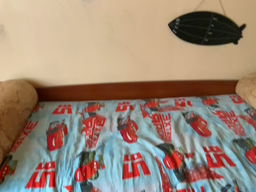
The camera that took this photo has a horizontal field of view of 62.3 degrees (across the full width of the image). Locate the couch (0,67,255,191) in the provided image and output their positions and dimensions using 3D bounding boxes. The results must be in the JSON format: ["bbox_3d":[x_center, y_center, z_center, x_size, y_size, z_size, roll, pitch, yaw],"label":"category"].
[{"bbox_3d":[0.140,0.380,1.410,2.090,0.820,0.990,-2,26,-5],"label":"couch"}]
